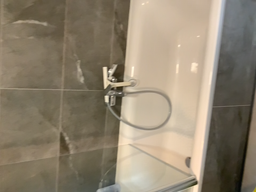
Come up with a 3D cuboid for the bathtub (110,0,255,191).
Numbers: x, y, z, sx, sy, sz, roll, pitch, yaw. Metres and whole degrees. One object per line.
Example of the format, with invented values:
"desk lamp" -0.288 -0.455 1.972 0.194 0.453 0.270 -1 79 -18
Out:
"bathtub" 0.360 -0.010 1.450 0.700 0.550 1.620 14 101 52
